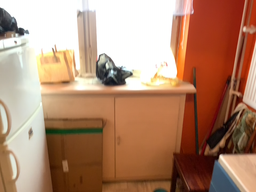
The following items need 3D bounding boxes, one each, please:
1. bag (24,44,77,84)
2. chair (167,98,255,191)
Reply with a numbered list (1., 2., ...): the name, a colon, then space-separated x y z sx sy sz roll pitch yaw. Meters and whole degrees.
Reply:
1. bag: -0.660 -0.290 1.870 0.360 0.300 0.270 0 20 -5
2. chair: 0.660 0.530 1.700 0.530 0.920 0.440 1 19 -3
